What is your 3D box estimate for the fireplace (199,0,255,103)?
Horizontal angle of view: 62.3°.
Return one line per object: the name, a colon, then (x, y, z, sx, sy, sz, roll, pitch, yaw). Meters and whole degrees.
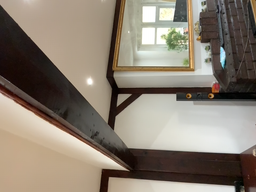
fireplace: (1.600, -0.910, 2.670, 0.830, 1.140, 1.820, 67, -155, -65)
